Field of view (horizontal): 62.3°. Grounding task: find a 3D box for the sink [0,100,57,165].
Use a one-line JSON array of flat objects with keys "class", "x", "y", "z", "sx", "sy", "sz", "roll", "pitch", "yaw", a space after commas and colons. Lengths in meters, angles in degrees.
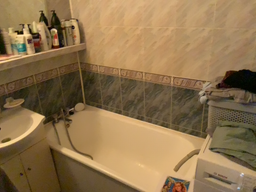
[{"class": "sink", "x": -0.830, "y": 0.230, "z": 1.450, "sx": 0.400, "sy": 0.160, "sz": 0.500, "roll": 12, "pitch": 27, "yaw": 30}]
